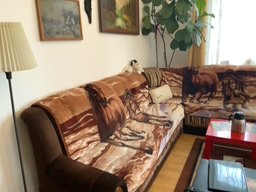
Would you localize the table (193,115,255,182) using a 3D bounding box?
[{"bbox_3d":[1.170,0.570,2.470,0.680,0.450,0.550,6,17,27],"label":"table"}]

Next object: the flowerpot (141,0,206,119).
[{"bbox_3d":[0.810,-0.910,3.850,0.960,2.460,0.650,7,17,27],"label":"flowerpot"}]
